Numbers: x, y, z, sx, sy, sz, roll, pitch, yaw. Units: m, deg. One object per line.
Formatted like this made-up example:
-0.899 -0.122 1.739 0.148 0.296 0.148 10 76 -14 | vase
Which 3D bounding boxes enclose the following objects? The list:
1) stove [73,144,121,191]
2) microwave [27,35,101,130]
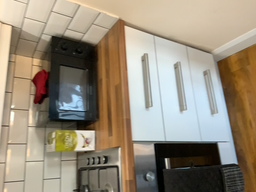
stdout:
-0.170 0.610 1.030 0.520 0.020 0.680 -28 61 52 | stove
-0.380 -0.050 1.270 0.290 0.330 0.460 -24 64 53 | microwave
